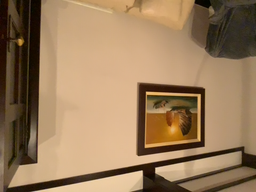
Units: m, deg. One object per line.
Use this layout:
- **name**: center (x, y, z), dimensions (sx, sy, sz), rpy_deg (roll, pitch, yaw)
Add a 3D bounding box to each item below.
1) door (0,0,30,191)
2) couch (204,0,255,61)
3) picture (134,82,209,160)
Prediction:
- **door**: center (-0.750, -0.480, 1.410), dimensions (0.070, 2.130, 0.820), rpy_deg (1, 179, -18)
- **couch**: center (1.310, -1.010, 2.420), dimensions (0.770, 1.030, 0.990), rpy_deg (1, 179, 17)
- **picture**: center (0.610, 0.290, 2.740), dimensions (1.180, 0.880, 0.100), rpy_deg (1, 179, -32)
